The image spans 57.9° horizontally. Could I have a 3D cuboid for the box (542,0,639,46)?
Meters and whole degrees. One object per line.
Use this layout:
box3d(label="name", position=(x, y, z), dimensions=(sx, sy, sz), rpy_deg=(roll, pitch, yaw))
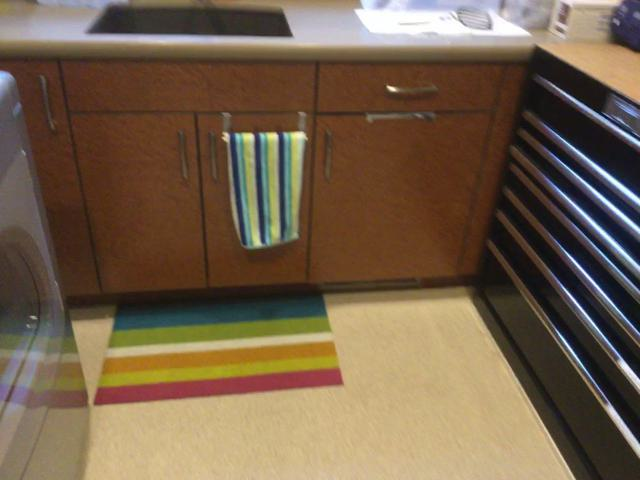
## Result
box3d(label="box", position=(0.770, -0.630, 1.650), dimensions=(0.190, 0.110, 0.140), rpy_deg=(-2, 32, -9))

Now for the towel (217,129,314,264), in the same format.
box3d(label="towel", position=(-0.160, -0.120, 1.680), dimensions=(0.260, 0.400, 0.070), rpy_deg=(-2, 32, -9))
